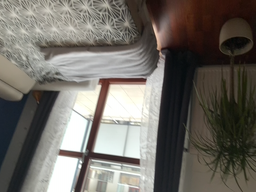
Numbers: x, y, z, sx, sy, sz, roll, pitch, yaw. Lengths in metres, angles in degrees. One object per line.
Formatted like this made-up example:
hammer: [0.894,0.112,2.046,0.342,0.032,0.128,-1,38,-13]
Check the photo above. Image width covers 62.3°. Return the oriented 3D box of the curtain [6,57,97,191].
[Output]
curtain: [-0.920,0.690,2.440,0.490,2.490,0.330,5,156,14]
